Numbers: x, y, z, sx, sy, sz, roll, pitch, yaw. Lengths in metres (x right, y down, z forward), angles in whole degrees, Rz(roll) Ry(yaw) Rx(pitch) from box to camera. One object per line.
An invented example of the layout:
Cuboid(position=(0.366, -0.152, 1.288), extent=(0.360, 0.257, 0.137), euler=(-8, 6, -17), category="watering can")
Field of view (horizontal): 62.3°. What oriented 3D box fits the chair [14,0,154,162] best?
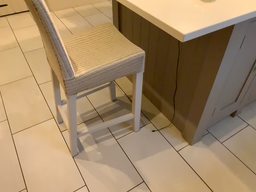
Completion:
Cuboid(position=(-0.210, -0.160, 1.180), extent=(0.490, 0.980, 0.410), euler=(-23, 48, -23), category="chair")
